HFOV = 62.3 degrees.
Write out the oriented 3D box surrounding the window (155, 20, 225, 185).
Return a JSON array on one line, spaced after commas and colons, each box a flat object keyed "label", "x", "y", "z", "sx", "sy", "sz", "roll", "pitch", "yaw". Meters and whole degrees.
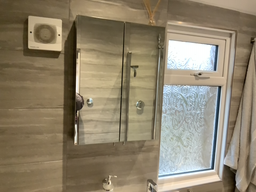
[{"label": "window", "x": 0.490, "y": 0.070, "z": 1.670, "sx": 0.510, "sy": 1.220, "sz": 0.070, "roll": 0, "pitch": 6, "yaw": -20}]
